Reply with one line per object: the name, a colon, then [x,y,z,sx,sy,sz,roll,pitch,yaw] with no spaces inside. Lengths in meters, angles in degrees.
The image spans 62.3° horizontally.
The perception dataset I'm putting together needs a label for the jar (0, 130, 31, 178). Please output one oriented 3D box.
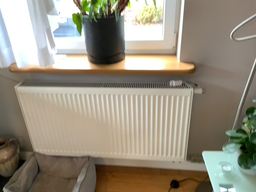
jar: [-1.020,0.480,1.790,0.200,0.250,0.280,2,28,7]
